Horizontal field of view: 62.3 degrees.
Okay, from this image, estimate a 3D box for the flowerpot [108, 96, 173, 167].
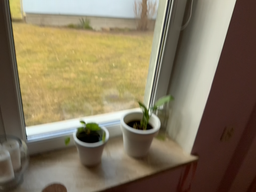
[{"bbox_3d":[0.050,0.170,1.110,0.200,0.220,0.260,-11,32,-31],"label":"flowerpot"}]
